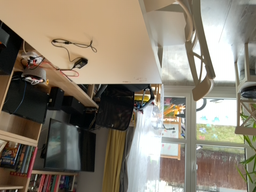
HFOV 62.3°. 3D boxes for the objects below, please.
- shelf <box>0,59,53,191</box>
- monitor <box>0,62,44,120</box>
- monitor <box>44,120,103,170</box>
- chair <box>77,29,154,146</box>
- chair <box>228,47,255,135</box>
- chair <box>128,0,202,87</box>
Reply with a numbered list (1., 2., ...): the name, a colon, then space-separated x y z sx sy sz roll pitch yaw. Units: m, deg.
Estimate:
1. shelf: -1.110 0.380 1.940 0.240 1.260 0.660 1 160 13
2. monitor: -1.030 -0.030 2.030 0.030 0.410 0.460 -2 159 23
3. monitor: -0.650 0.650 2.730 0.050 0.550 0.820 10 170 29
4. chair: -0.140 -0.060 2.530 0.610 1.160 0.580 15 159 -22
5. chair: 1.520 -0.040 2.460 0.490 0.880 0.560 2 160 12
6. chair: 0.280 -0.530 1.670 0.470 0.770 0.430 5 160 4
